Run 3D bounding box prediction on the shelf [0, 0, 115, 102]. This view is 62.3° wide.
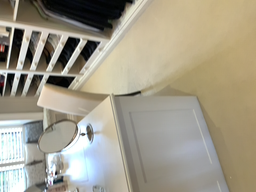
[{"bbox_3d":[-1.730,-0.610,2.950,2.000,2.340,0.700,-37,60,49],"label":"shelf"}]
